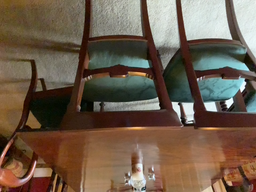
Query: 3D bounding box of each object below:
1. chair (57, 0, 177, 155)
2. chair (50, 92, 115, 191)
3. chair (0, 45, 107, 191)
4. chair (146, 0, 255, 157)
[{"bbox_3d":[-0.060,-0.160,1.150,0.420,0.810,0.440,-2,146,-2],"label":"chair"},{"bbox_3d":[-0.370,0.490,2.030,0.430,0.890,0.520,-4,146,2],"label":"chair"},{"bbox_3d":[-0.430,0.150,1.530,0.470,0.890,0.510,-4,146,2],"label":"chair"},{"bbox_3d":[0.400,-0.140,1.220,0.470,0.810,0.520,-2,146,-2],"label":"chair"}]
